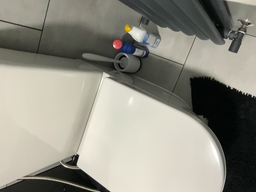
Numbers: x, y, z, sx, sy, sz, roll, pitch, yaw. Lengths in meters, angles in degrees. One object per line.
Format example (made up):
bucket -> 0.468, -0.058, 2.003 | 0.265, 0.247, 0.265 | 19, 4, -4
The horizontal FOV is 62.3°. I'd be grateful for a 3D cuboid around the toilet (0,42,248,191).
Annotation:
toilet -> -0.030, 0.150, 0.730 | 0.660, 0.820, 0.400 | 26, 105, 26
